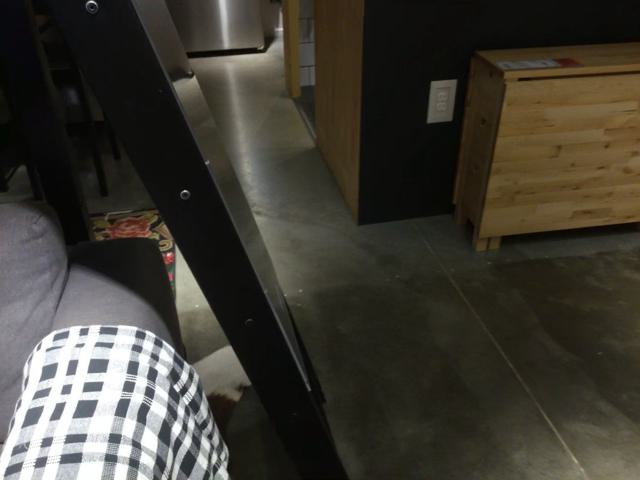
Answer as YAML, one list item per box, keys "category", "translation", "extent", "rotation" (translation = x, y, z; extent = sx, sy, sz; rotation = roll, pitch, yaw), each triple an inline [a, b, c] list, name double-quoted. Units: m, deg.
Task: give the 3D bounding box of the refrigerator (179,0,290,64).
- category: "refrigerator"
  translation: [-0.660, -2.160, 4.100]
  extent: [0.750, 1.630, 0.470]
  rotation: [-5, 33, -3]

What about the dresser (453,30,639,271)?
- category: "dresser"
  translation: [1.010, -0.350, 2.180]
  extent: [0.850, 0.720, 0.400]
  rotation: [-8, 33, -8]
